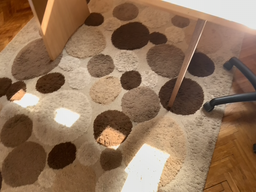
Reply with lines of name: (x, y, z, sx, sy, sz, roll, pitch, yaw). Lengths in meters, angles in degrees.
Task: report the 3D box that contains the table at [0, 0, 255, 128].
table: (-0.110, -0.540, 1.210, 1.360, 0.800, 0.720, 22, 64, 12)
